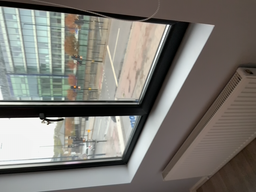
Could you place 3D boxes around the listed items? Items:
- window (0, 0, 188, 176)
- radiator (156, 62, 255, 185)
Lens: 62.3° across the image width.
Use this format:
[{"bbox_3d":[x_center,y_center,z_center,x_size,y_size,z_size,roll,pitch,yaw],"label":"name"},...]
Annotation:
[{"bbox_3d":[-0.540,0.100,1.380,1.440,1.390,0.140,107,157,-43],"label":"window"},{"bbox_3d":[0.670,0.310,1.520,1.280,0.560,0.070,107,157,-43],"label":"radiator"}]
